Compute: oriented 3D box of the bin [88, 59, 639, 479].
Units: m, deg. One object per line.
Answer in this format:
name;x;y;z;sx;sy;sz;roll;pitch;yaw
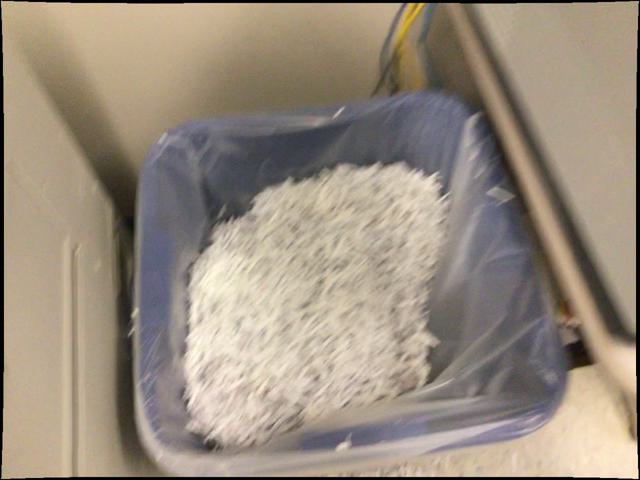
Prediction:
bin;0.060;0.150;1.030;0.599;0.630;0.541;-7;57;4
